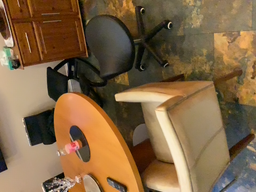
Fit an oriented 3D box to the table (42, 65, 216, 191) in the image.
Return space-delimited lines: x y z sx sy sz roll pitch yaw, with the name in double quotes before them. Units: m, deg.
"table" -0.010 0.700 1.960 1.190 0.760 1.720 18 120 45
